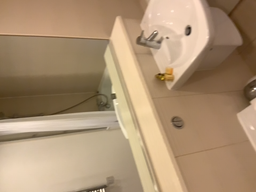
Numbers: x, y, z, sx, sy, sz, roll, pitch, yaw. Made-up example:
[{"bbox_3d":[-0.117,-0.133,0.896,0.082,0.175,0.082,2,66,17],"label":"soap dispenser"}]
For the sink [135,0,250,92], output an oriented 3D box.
[{"bbox_3d":[0.310,-0.420,1.270,0.460,0.210,0.630,119,139,-50],"label":"sink"}]
